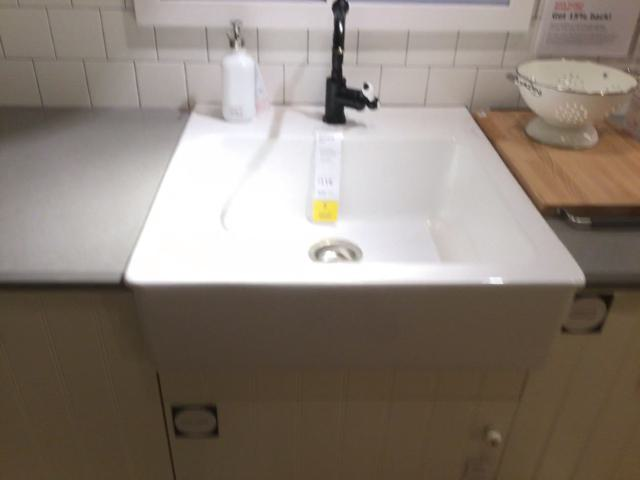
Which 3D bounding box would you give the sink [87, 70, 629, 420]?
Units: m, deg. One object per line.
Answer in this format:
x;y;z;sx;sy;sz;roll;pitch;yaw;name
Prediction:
0.040;-0.050;1.070;0.660;0.330;0.660;-1;33;-1;sink
